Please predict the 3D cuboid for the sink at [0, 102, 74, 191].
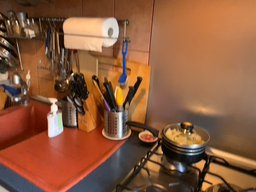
[{"bbox_3d":[-0.600,0.230,1.140,0.380,0.200,0.460,13,20,28],"label":"sink"}]
